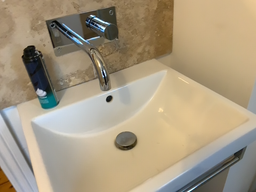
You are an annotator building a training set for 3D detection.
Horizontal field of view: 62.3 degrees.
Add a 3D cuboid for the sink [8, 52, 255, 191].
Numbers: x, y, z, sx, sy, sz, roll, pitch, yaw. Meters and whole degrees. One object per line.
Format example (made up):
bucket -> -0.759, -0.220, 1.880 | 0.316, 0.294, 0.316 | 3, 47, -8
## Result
sink -> 0.000, 0.100, 0.600 | 0.520, 0.190, 0.440 | -22, 38, -23
